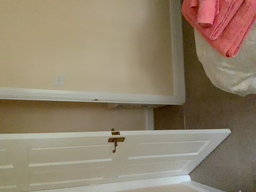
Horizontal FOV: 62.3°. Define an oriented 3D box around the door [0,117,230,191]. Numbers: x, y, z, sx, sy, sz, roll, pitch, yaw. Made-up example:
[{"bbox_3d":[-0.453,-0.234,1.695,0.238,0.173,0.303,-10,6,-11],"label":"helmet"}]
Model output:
[{"bbox_3d":[-0.200,0.490,1.670,0.060,1.930,0.880,-110,29,-44],"label":"door"}]
